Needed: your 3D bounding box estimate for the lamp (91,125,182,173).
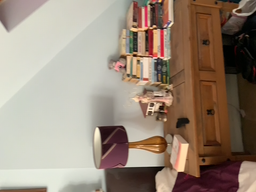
[{"bbox_3d":[0.040,0.350,1.480,0.330,0.560,0.280,144,127,-74],"label":"lamp"}]
